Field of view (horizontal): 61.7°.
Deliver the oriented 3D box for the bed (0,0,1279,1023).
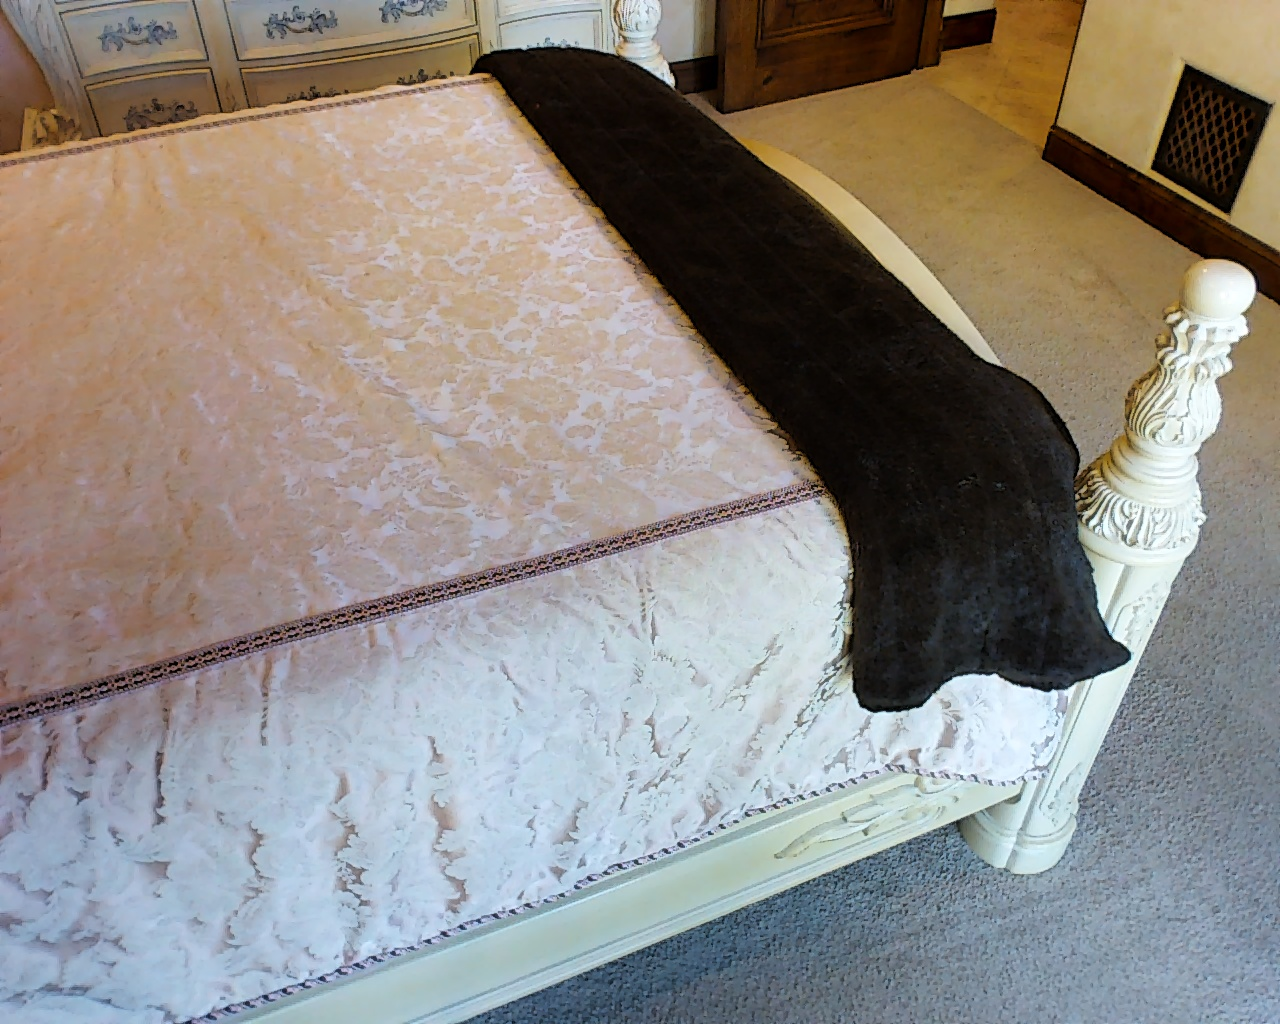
[{"bbox_3d":[-0.710,-0.460,1.270,2.450,2.260,1.880,-17,44,-17],"label":"bed"}]
